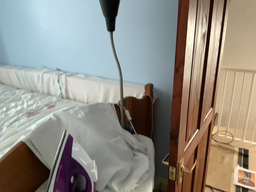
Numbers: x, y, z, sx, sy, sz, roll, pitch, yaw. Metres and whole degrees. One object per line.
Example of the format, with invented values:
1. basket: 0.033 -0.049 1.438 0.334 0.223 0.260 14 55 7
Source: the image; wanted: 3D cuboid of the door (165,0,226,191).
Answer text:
1. door: 0.360 0.020 1.090 0.030 1.940 0.750 11 22 29
